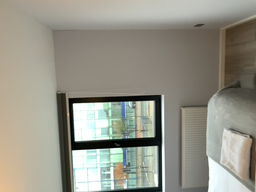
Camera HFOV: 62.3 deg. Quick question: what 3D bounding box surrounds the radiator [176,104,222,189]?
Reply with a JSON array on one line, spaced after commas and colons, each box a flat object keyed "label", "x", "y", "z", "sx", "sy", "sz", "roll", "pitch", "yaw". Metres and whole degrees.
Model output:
[{"label": "radiator", "x": 1.020, "y": 0.750, "z": 3.090, "sx": 0.050, "sy": 0.620, "sz": 1.250, "roll": -120, "pitch": 29, "yaw": -81}]
